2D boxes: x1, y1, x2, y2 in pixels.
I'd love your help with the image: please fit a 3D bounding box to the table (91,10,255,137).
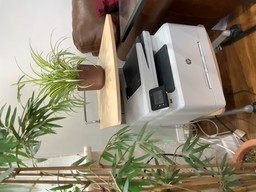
[{"bbox_3d":[0.200,-0.060,1.210,0.610,0.730,0.470,134,132,-68],"label":"table"}]
